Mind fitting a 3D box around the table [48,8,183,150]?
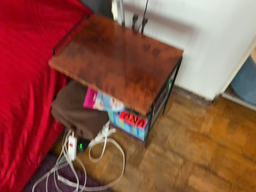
[{"bbox_3d":[-0.030,-0.040,0.910,0.350,0.470,0.290,25,65,15],"label":"table"}]
